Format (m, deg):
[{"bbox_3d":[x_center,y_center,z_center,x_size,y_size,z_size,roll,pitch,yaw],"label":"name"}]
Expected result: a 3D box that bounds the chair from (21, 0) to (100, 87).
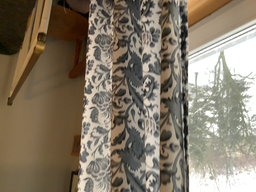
[{"bbox_3d":[-0.470,-0.530,1.530,0.390,0.810,0.350,12,162,-30],"label":"chair"}]
